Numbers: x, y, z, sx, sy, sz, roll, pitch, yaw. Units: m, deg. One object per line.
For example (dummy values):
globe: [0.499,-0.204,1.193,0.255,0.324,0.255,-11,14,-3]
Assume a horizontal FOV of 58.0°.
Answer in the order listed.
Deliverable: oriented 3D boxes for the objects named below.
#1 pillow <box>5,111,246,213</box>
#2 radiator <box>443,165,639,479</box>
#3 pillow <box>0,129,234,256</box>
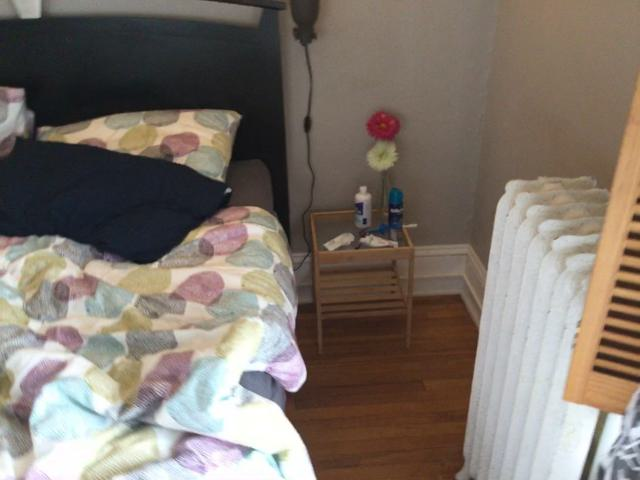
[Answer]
pillow: [-0.580,-0.270,1.880,0.660,0.170,0.420,-3,28,-5]
radiator: [0.540,0.370,1.330,0.290,0.950,0.510,-2,28,-4]
pillow: [-0.630,-0.160,1.670,0.640,0.160,0.410,7,28,13]
